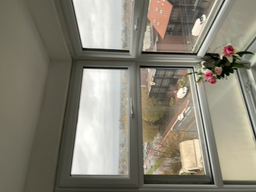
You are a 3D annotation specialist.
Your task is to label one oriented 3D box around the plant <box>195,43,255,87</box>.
[{"bbox_3d":[0.880,-0.270,1.940,0.330,0.400,0.350,-117,29,-85],"label":"plant"}]
